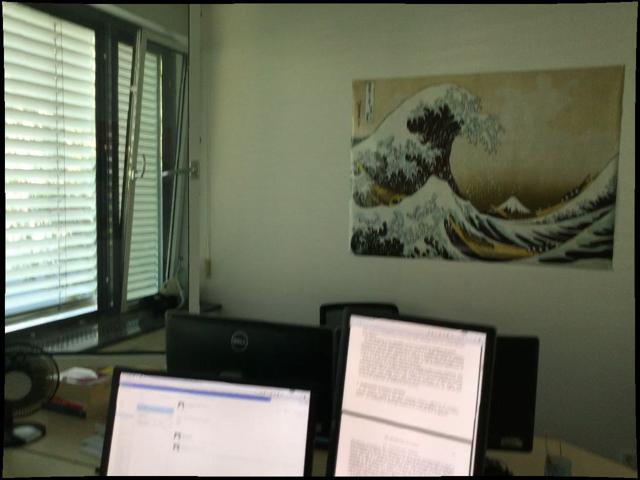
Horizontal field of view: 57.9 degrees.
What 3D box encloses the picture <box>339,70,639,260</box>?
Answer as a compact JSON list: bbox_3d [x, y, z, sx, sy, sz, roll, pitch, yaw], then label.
[{"bbox_3d":[0.779,-0.380,2.940,1.419,0.841,0.130,4,9,25],"label":"picture"}]
